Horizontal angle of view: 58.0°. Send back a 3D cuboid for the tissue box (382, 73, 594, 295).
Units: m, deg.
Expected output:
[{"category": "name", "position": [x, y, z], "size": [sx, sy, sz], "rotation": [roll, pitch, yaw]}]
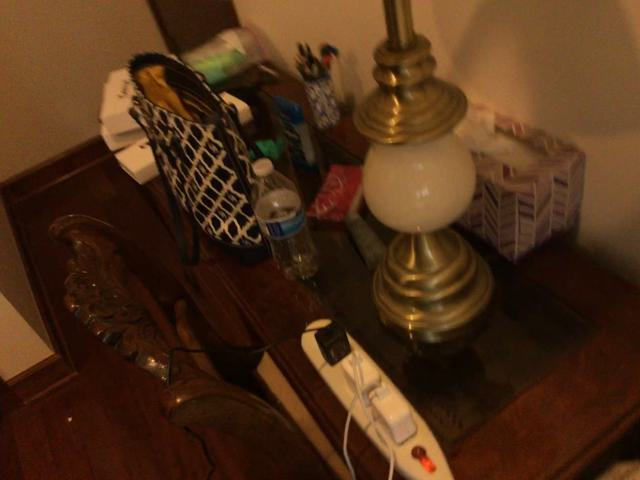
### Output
[{"category": "tissue box", "position": [0.230, -0.090, 0.840], "size": [0.130, 0.190, 0.260], "rotation": [-30, 45, -16]}]
